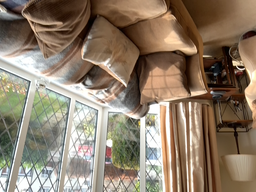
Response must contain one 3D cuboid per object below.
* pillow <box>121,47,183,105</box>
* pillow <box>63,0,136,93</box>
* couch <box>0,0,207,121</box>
[{"bbox_3d":[0.220,-0.170,2.010,0.510,0.380,0.250,-10,155,27],"label":"pillow"},{"bbox_3d":[-0.180,-0.370,1.680,0.180,0.410,0.590,-10,142,29],"label":"pillow"},{"bbox_3d":[-0.140,-0.460,1.650,0.960,0.850,1.690,-12,155,31],"label":"couch"}]
